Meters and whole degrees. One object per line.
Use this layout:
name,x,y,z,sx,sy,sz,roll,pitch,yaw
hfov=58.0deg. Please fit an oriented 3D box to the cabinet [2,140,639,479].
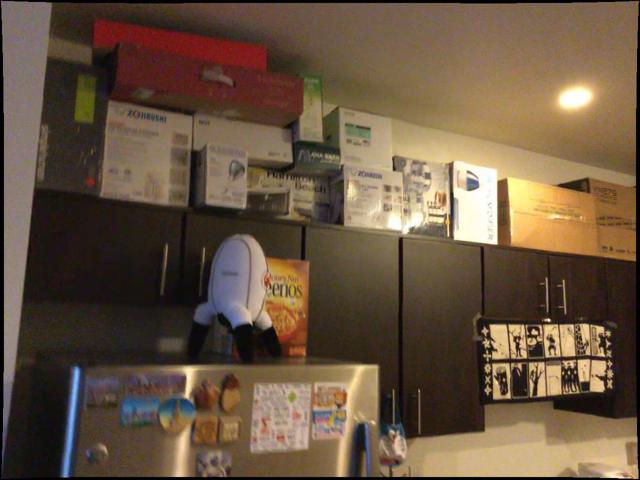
cabinet,0.718,0.331,2.440,3.564,0.792,0.620,5,-10,-28
